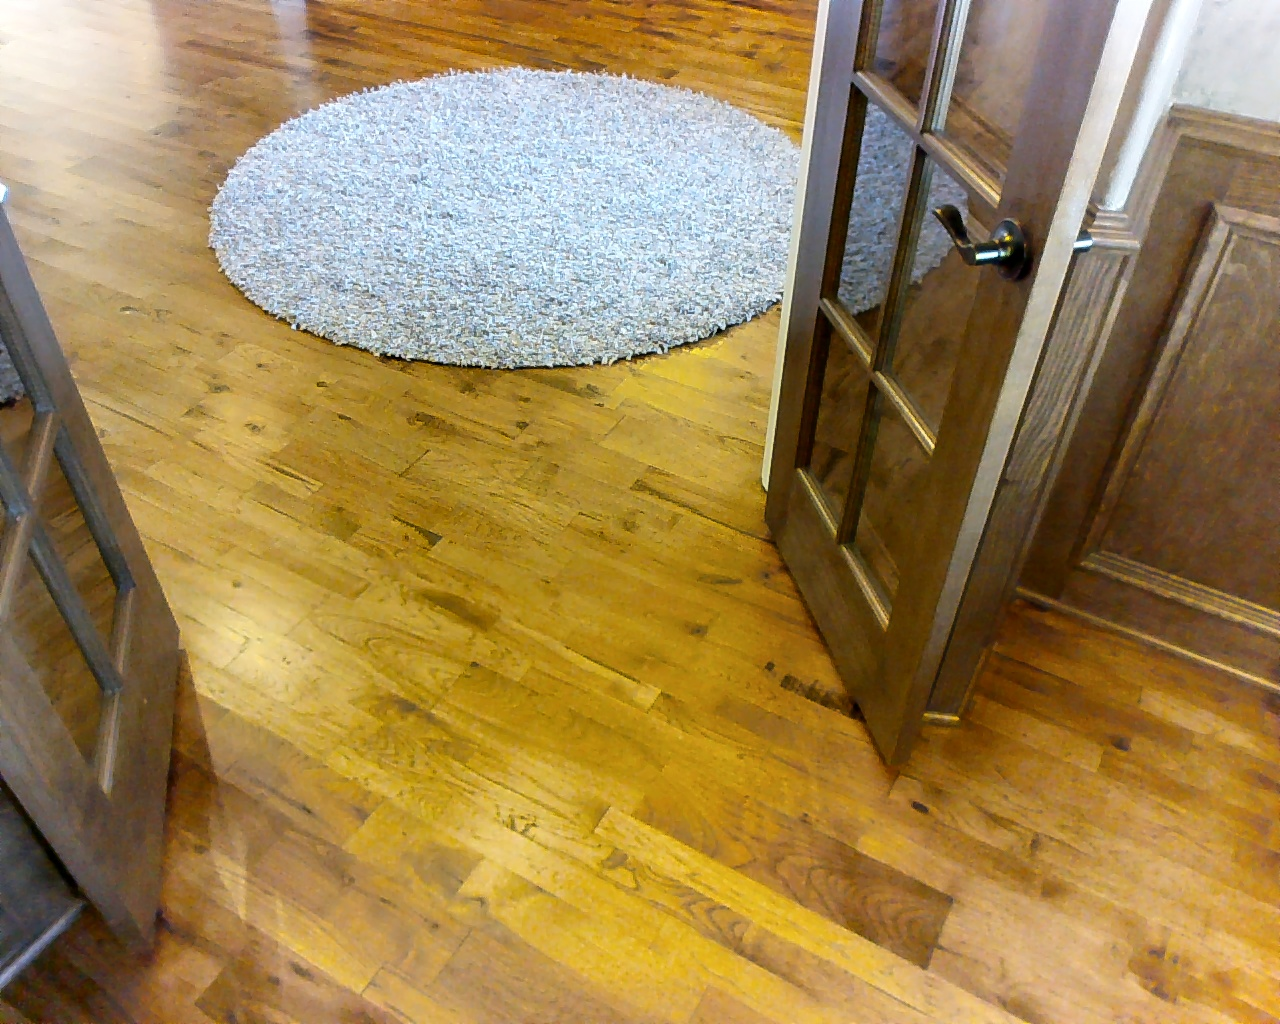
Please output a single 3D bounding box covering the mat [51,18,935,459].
[{"bbox_3d":[-0.330,-1.020,3.250,1.920,0.030,1.900,21,47,20],"label":"mat"}]
